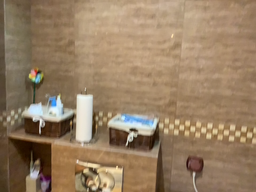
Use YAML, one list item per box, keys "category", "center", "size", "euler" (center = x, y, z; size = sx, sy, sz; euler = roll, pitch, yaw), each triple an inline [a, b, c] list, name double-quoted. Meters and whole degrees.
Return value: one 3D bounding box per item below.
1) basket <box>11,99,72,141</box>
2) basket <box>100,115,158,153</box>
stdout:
- category: "basket"
  center: [-0.490, 0.130, 1.220]
  size: [0.280, 0.180, 0.160]
  euler: [5, 8, 12]
- category: "basket"
  center: [0.010, 0.190, 1.110]
  size: [0.270, 0.130, 0.150]
  euler: [5, 8, 12]
